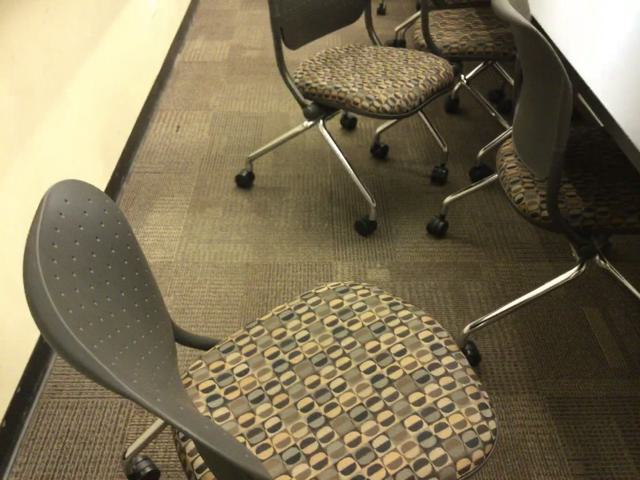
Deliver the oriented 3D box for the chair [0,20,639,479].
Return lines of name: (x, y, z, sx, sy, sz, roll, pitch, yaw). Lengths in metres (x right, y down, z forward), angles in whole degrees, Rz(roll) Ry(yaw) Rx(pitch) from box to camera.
chair: (-0.030, 0.160, 0.890, 0.620, 0.670, 0.610, -25, 45, -21)

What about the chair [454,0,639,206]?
chair: (0.580, -0.450, 1.290, 0.430, 0.560, 0.470, -2, 41, 3)

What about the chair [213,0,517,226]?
chair: (0.140, -0.670, 1.860, 0.740, 0.870, 0.580, 28, 50, 31)
